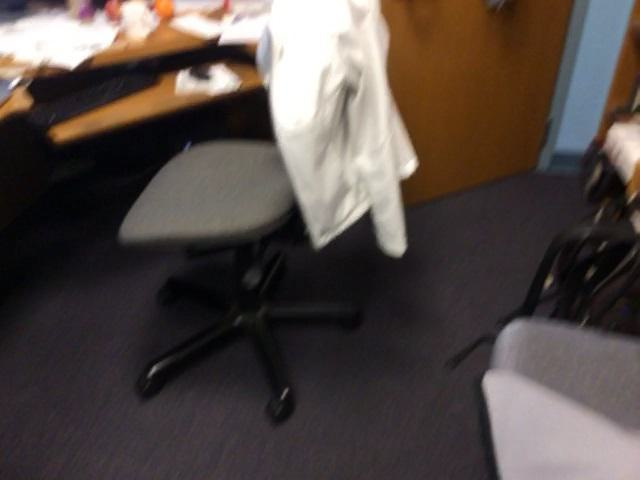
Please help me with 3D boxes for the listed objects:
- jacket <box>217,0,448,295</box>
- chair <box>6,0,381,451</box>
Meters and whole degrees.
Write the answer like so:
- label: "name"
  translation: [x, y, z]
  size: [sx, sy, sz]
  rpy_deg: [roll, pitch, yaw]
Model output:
- label: "jacket"
  translation: [0.030, -0.270, 1.270]
  size: [0.400, 0.690, 0.310]
  rpy_deg: [7, 33, 7]
- label: "chair"
  translation: [-0.200, -0.130, 1.420]
  size: [0.580, 1.100, 0.600]
  rpy_deg: [7, 33, 6]
